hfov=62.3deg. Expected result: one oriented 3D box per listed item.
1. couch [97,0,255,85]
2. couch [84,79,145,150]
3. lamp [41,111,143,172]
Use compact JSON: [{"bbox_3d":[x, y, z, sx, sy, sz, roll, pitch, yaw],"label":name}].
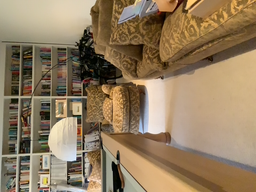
[{"bbox_3d":[0.260,-0.770,1.640,2.140,0.770,1.100,162,107,-75],"label":"couch"},{"bbox_3d":[-0.360,0.210,3.960,1.710,0.810,0.960,-154,65,-74],"label":"couch"},{"bbox_3d":[-0.590,0.690,3.540,0.700,1.500,0.730,-150,61,-74],"label":"lamp"}]
